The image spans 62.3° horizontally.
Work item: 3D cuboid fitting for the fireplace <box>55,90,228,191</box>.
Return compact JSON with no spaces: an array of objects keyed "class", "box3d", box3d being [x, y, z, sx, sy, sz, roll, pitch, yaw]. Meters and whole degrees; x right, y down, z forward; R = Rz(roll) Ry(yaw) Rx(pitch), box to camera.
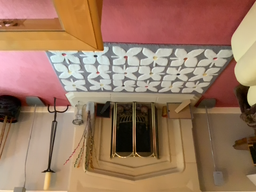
[{"class":"fireplace","box3d":[0.110,0.630,2.350,1.510,1.170,0.740,-1,155,0]}]
